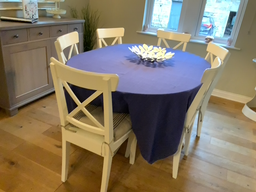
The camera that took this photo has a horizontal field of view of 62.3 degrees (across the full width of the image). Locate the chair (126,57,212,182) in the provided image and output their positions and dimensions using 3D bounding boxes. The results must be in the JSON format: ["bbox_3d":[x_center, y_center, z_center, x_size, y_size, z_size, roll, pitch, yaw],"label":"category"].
[{"bbox_3d":[0.310,0.170,1.710,0.450,0.820,0.380,18,27,23],"label":"chair"}]

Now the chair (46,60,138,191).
[{"bbox_3d":[-0.220,0.240,1.430,0.380,0.820,0.450,12,26,13],"label":"chair"}]
